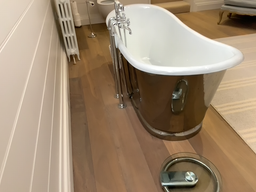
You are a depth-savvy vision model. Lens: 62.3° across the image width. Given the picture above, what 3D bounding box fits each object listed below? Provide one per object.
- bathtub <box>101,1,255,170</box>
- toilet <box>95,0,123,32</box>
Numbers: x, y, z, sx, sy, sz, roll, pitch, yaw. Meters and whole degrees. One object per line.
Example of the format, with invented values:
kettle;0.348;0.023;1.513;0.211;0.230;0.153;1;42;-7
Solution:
bathtub;0.250;-0.300;1.920;0.700;0.700;1.620;-10;35;-9
toilet;-0.370;-1.700;3.830;0.390;0.870;0.630;-10;35;-9
